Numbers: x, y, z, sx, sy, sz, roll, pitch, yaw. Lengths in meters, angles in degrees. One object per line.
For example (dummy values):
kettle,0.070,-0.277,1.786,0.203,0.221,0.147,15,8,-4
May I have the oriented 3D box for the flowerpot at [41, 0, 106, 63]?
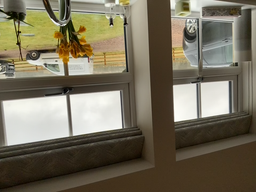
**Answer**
flowerpot,-0.300,-0.380,1.160,0.300,0.380,0.170,-5,-174,-23
